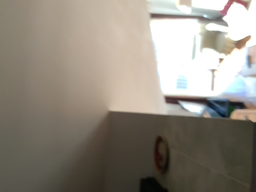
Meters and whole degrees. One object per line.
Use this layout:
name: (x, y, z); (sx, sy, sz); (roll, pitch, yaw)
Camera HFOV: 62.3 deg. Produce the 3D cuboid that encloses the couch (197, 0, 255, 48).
couch: (2.260, -1.740, 3.910); (2.210, 0.870, 1.070); (171, 104, -79)
